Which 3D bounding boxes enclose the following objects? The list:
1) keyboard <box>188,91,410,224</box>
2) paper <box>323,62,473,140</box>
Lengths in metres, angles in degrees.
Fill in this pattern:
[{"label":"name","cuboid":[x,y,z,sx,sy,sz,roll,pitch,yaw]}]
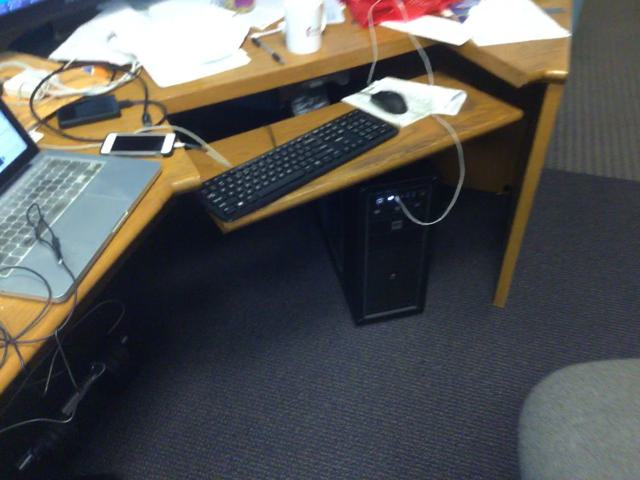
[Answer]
[{"label":"keyboard","cuboid":[-0.030,-0.180,1.160,0.450,0.040,0.140,-31,47,-25]},{"label":"paper","cuboid":[0.180,-0.320,1.300,0.290,0.050,0.220,9,44,16]}]
